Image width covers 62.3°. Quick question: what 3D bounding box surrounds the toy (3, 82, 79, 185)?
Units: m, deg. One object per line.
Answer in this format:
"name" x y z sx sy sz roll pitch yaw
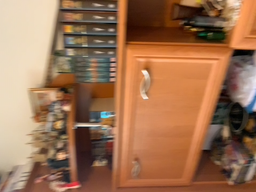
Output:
"toy" -0.420 0.200 1.130 0.280 0.250 0.470 -98 11 -59
